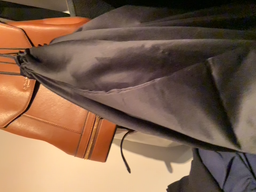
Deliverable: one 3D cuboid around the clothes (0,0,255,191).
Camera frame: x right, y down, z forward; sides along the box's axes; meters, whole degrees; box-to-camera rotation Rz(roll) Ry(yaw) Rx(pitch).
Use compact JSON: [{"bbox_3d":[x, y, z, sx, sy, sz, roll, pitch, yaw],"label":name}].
[{"bbox_3d":[-0.060,-0.010,0.510,0.400,0.660,0.300,95,167,-51],"label":"clothes"}]
